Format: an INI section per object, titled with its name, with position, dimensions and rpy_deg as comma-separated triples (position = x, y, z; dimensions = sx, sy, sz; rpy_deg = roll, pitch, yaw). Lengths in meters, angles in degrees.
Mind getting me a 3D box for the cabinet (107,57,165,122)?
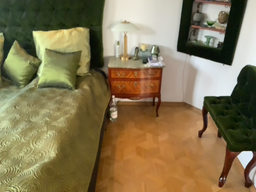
[cabinet]
position = 0.080, -0.080, 2.560
dimensions = 0.620, 0.660, 0.390
rpy_deg = 1, 29, 0
